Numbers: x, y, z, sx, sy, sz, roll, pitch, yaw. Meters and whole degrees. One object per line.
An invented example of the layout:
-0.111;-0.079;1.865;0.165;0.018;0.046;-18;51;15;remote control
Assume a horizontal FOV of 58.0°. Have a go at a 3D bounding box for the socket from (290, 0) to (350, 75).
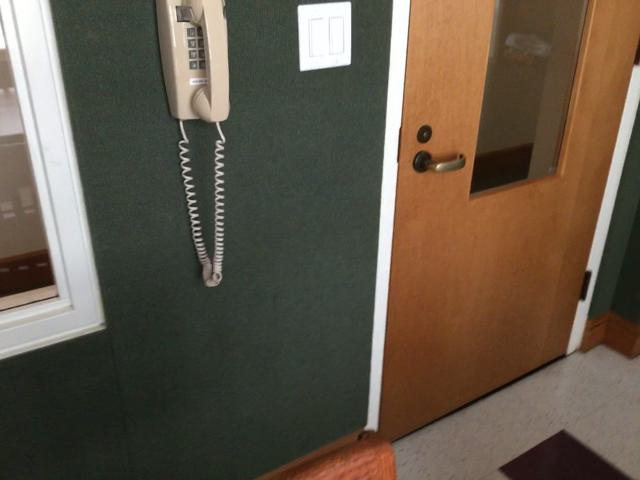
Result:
0.000;-0.390;1.110;0.120;0.130;0.020;-13;28;-29;socket
